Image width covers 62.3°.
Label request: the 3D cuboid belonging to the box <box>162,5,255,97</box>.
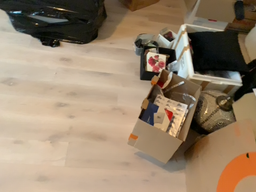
[{"bbox_3d":[0.680,-0.370,1.780,0.630,0.380,0.610,4,55,-10],"label":"box"}]
